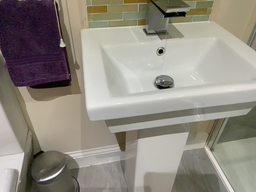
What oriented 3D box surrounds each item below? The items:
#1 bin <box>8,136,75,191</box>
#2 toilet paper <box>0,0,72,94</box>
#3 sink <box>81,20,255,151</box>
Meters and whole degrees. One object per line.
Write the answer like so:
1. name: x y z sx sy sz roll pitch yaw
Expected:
1. bin: -0.420 0.400 1.110 0.240 0.270 0.240 -3 42 -7
2. toilet paper: -0.310 -0.170 0.720 0.190 0.340 0.080 -5 42 -9
3. sink: 0.130 -0.080 0.680 0.520 0.150 0.420 -6 42 -10
